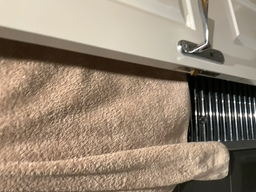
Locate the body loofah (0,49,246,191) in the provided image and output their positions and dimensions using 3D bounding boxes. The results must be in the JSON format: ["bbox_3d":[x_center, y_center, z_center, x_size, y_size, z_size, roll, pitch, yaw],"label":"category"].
[{"bbox_3d":[-0.040,0.120,0.490,0.150,0.810,0.330,-17,71,55],"label":"body loofah"}]
